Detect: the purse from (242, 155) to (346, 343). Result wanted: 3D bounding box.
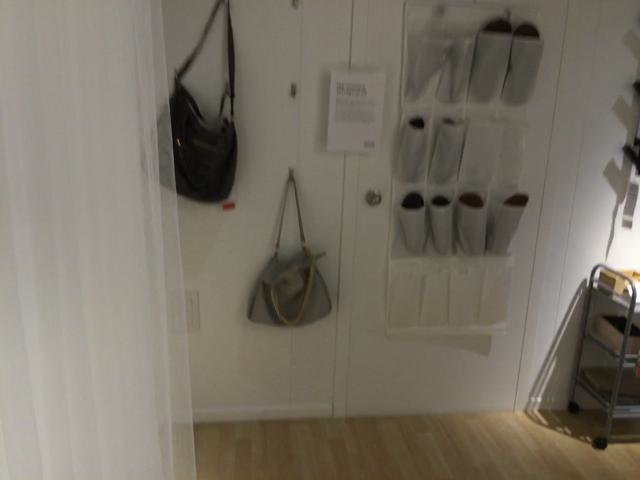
[{"bbox_3d":[-0.100,0.030,2.290,0.380,0.710,0.170,-3,12,-7],"label":"purse"}]

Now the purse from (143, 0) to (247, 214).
[{"bbox_3d":[-0.440,-0.500,2.100,0.310,0.780,0.190,-3,12,-7],"label":"purse"}]

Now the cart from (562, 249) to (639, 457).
[{"bbox_3d":[1.350,0.440,2.380,0.500,0.740,0.350,-3,12,-7],"label":"cart"}]
